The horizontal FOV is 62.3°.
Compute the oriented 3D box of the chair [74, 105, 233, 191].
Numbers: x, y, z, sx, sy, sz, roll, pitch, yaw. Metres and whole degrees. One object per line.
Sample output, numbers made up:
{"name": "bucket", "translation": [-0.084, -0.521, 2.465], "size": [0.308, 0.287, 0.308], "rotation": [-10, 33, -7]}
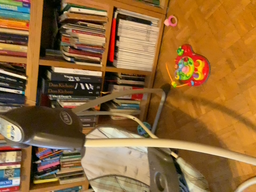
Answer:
{"name": "chair", "translation": [0.040, 0.370, 0.990], "size": [0.590, 0.370, 0.460], "rotation": [38, 120, 54]}
